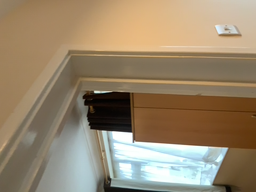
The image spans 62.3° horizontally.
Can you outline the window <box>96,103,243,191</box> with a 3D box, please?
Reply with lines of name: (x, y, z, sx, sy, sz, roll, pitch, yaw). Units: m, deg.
window: (0.470, 0.800, 2.970, 0.160, 1.600, 1.710, -81, -9, -48)
